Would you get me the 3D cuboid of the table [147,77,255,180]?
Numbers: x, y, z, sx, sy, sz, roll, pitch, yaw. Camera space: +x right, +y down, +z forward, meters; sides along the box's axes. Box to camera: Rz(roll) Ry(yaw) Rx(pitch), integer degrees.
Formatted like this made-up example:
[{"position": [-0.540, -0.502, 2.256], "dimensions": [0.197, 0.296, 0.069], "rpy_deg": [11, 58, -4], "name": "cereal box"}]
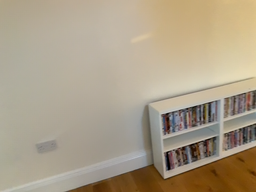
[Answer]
[{"position": [0.800, 0.270, 2.010], "dimensions": [1.200, 0.660, 0.240], "rpy_deg": [-12, 21, -15], "name": "table"}]
